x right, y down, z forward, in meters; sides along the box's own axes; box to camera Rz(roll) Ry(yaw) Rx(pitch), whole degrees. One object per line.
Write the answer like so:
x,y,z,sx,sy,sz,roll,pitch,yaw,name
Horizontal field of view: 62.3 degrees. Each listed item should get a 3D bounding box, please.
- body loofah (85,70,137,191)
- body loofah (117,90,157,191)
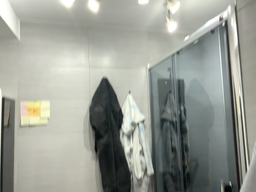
-0.160,0.330,1.870,0.410,1.090,0.200,-1,-5,-13,body loofah
0.080,0.440,1.950,0.310,0.980,0.130,0,-5,-17,body loofah
